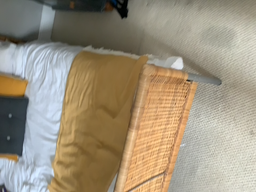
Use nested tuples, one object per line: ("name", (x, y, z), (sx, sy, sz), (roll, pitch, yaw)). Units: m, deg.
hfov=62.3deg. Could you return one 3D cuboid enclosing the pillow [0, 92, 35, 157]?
("pillow", (-1.080, 0.260, 1.930), (0.140, 0.260, 0.530), (18, 88, 59))
